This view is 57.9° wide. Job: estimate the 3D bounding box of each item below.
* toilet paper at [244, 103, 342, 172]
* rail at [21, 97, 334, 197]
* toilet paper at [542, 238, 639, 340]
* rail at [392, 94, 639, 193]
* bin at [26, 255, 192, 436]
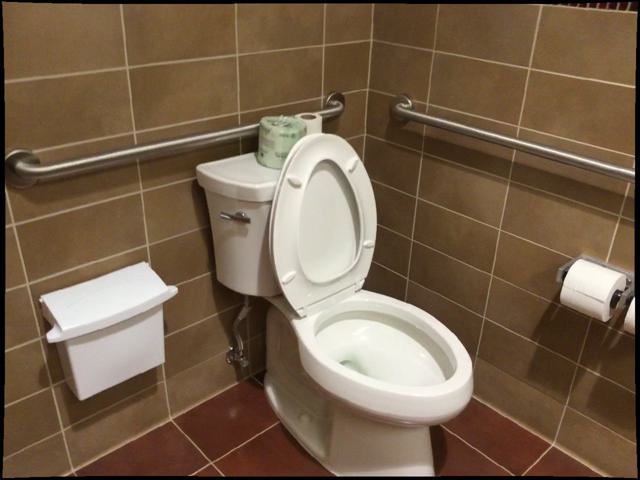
[{"bbox_3d":[-0.070,-0.280,1.550,0.220,0.110,0.140,-23,37,-37],"label":"toilet paper"},{"bbox_3d":[-0.300,-0.260,1.470,0.840,0.050,0.090,-23,37,-37],"label":"rail"},{"bbox_3d":[0.669,0.110,1.380,0.150,0.130,0.190,-23,37,-37],"label":"toilet paper"},{"bbox_3d":[0.659,-0.180,1.350,0.070,0.060,1.240,-23,37,-37],"label":"rail"},{"bbox_3d":[-0.519,0.260,1.480,0.330,0.330,0.130,-23,37,-37],"label":"bin"}]
